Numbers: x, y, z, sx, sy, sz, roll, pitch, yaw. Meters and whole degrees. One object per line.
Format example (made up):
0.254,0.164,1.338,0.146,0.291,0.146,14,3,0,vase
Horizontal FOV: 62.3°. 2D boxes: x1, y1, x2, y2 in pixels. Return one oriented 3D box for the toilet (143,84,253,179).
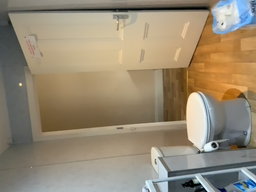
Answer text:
0.580,0.270,1.860,0.380,0.800,0.660,-137,43,-78,toilet
